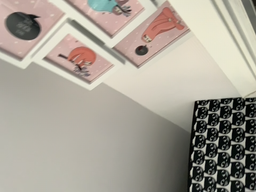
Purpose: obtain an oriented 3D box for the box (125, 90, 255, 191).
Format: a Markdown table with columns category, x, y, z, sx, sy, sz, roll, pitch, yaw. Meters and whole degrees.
| category | x | y | z | sx | sy | sz | roll | pitch | yaw |
| --- | --- | --- | --- | --- | --- | --- | --- | --- | --- |
| box | 0.400 | 0.300 | 0.910 | 0.650 | 0.450 | 0.330 | 37 | -122 | -39 |
